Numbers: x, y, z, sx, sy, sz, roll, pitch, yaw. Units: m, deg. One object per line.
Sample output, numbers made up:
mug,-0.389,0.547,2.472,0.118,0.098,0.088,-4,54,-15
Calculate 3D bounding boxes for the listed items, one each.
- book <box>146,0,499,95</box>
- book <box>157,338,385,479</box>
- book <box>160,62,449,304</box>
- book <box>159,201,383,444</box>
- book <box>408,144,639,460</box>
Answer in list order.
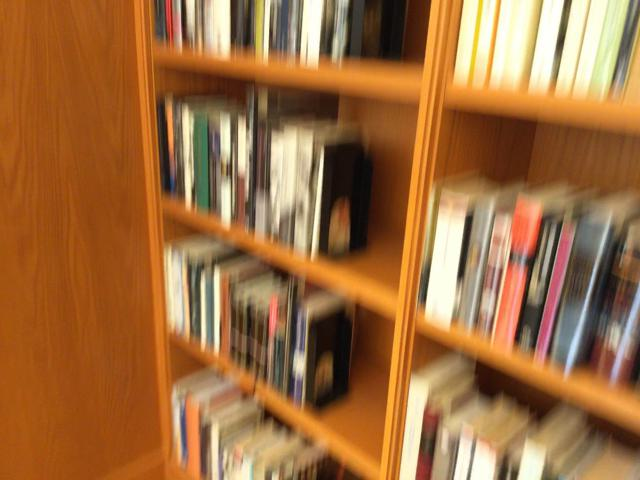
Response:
book,-0.050,-0.480,1.090,0.210,0.320,0.750,-13,25,-42
book,-0.160,0.570,1.610,0.330,0.310,0.570,-13,25,-42
book,-0.080,-0.170,1.270,0.250,0.370,0.630,-13,25,-42
book,-0.150,0.160,1.420,0.240,0.370,0.540,-13,25,-42
book,0.490,0.110,0.690,0.200,0.310,0.770,-13,25,-42
